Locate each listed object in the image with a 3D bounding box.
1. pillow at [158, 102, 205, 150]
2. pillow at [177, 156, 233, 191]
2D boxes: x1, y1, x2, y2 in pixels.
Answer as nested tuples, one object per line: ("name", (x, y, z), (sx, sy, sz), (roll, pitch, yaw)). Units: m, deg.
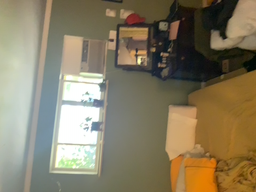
("pillow", (0.690, 0.400, 2.790), (0.490, 0.350, 0.220), (-51, -10, -11))
("pillow", (0.770, 0.950, 2.210), (0.550, 0.290, 0.220), (-53, -17, -2))
